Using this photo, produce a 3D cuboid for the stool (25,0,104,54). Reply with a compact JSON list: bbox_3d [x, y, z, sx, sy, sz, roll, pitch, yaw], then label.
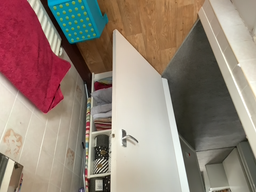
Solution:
[{"bbox_3d":[-0.400,-0.580,1.480,0.340,0.270,0.440,-10,144,8],"label":"stool"}]
